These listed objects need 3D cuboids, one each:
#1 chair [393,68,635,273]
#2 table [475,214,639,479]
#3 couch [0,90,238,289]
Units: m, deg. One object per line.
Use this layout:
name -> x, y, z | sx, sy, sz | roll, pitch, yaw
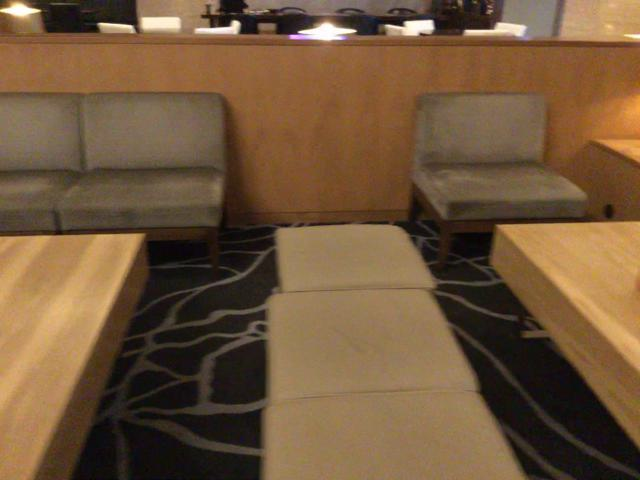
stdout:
chair -> 0.930, -0.400, 3.080 | 0.850, 0.880, 0.800 | 0, 24, -6
table -> 1.050, 0.370, 1.810 | 0.650, 0.480, 1.260 | 0, 24, -6
couch -> -1.200, -0.280, 2.830 | 1.540, 0.750, 0.780 | 0, 24, -6
